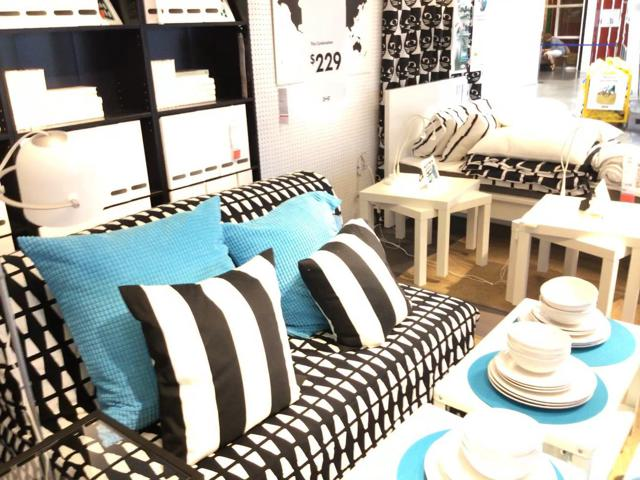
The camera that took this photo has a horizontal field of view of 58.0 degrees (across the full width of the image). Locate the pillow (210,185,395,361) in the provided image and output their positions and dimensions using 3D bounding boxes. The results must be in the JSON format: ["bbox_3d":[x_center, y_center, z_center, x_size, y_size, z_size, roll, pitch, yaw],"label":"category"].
[{"bbox_3d":[-0.040,0.100,2.080,0.220,0.440,0.560,-18,4,42],"label":"pillow"}]

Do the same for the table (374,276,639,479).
[{"bbox_3d":[0.660,0.530,1.800,0.570,0.550,0.780,5,20,42],"label":"table"}]

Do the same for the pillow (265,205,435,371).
[{"bbox_3d":[0.110,0.150,1.900,0.240,0.390,0.420,-17,5,43],"label":"pillow"}]

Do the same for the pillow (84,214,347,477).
[{"bbox_3d":[-0.250,0.250,1.520,0.240,0.480,0.500,-16,5,45],"label":"pillow"}]

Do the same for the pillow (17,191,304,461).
[{"bbox_3d":[-0.430,0.210,1.720,0.250,0.540,0.660,-8,11,45],"label":"pillow"}]
